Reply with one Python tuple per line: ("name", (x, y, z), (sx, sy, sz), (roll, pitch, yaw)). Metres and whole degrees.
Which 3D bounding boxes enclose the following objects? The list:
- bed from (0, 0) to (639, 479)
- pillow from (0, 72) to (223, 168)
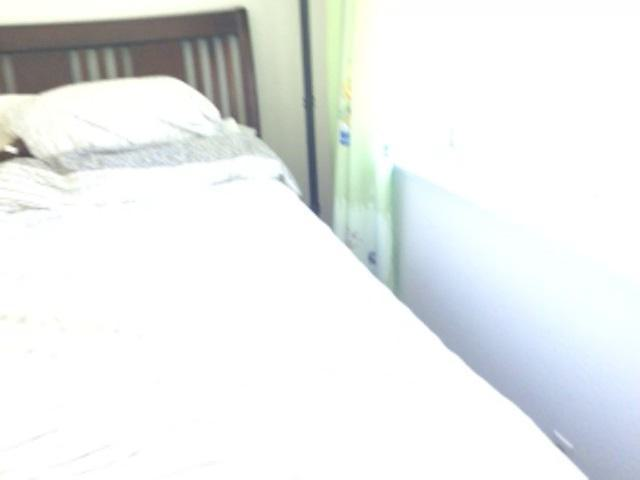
("bed", (-0.580, 0.160, 1.450), (1.840, 1.310, 2.340), (-9, 22, -16))
("pillow", (-0.790, -0.450, 2.090), (0.790, 0.220, 0.400), (-9, 22, -16))
